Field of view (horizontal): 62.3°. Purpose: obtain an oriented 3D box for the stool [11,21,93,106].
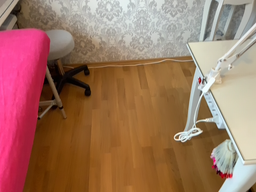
[{"bbox_3d":[-0.550,-0.260,1.710,0.440,0.480,0.450,-3,46,-2],"label":"stool"}]
